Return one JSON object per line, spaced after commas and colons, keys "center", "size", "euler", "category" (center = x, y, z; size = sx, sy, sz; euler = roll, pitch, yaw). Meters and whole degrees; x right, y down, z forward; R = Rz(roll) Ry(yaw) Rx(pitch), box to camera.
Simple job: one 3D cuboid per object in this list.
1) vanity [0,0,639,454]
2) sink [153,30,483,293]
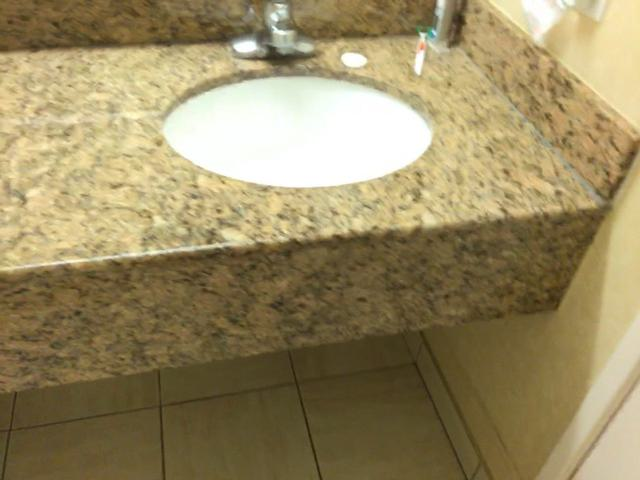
{"center": [-0.390, -0.080, 0.850], "size": [1.480, 0.420, 0.590], "euler": [-6, 41, -14], "category": "vanity"}
{"center": [-0.040, -0.160, 0.960], "size": [0.420, 0.220, 0.410], "euler": [-6, 41, -14], "category": "sink"}
